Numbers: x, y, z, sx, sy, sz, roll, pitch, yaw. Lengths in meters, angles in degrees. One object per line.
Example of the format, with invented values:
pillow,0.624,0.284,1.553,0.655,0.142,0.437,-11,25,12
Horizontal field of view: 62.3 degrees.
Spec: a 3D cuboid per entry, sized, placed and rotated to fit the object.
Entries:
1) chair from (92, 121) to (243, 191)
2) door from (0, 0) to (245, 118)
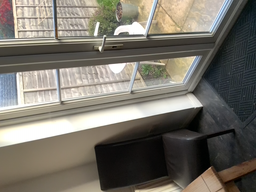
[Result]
chair,0.320,0.590,1.920,0.710,1.080,0.470,180,82,-67
door,-0.110,-0.340,1.520,1.080,2.060,0.030,105,148,-44
